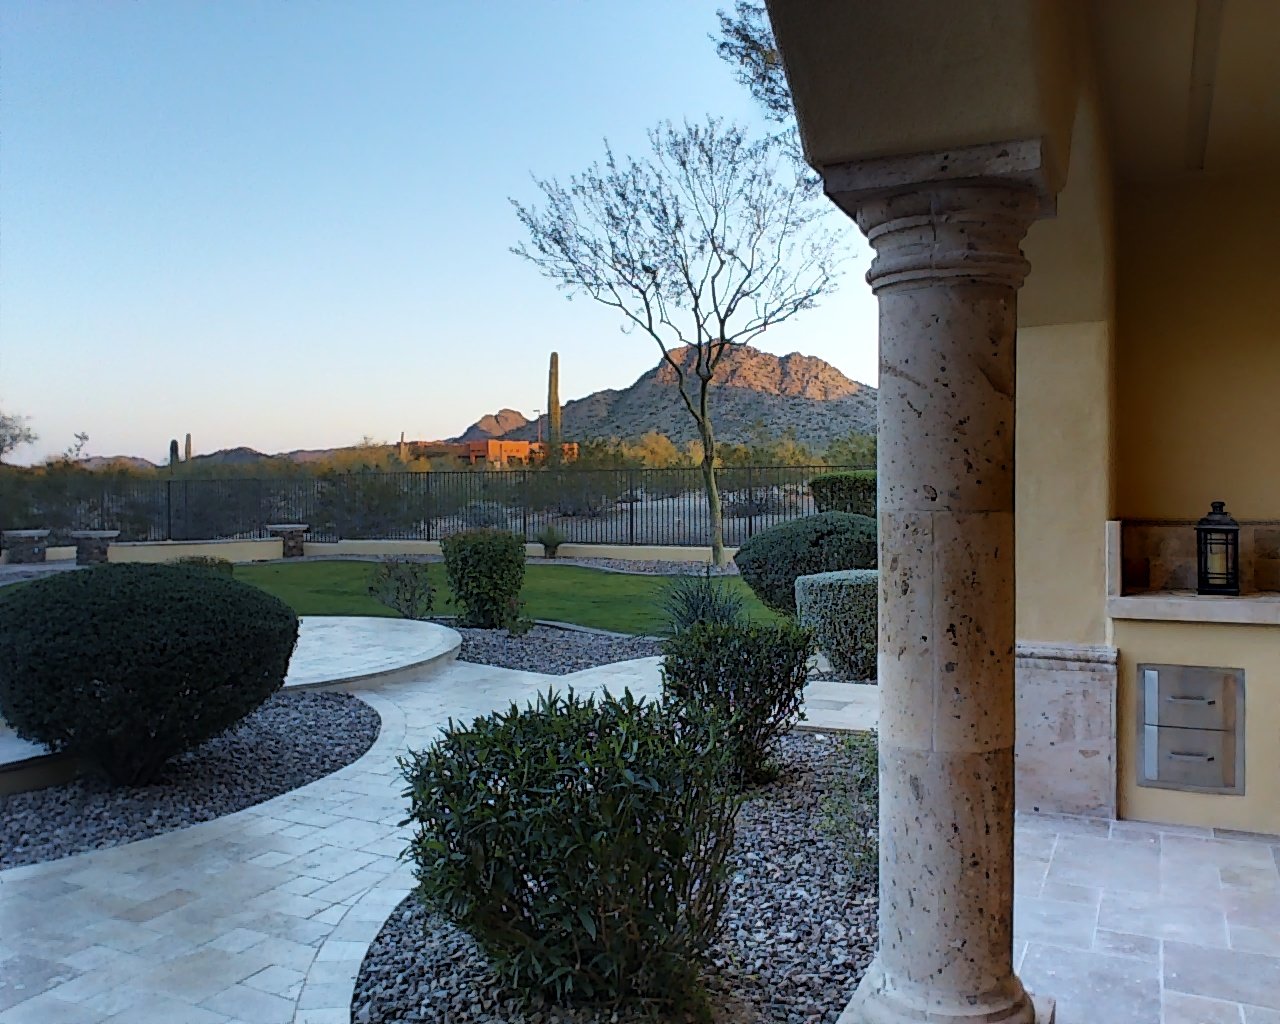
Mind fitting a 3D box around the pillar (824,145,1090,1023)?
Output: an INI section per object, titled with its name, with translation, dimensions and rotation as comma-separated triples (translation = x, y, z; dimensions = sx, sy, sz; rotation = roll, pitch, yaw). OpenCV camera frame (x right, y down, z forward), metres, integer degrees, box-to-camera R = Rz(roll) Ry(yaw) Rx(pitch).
[pillar]
translation = 0.770, 0.350, 2.510
dimensions = 0.490, 2.160, 0.620
rotation = 0, 2, 27
